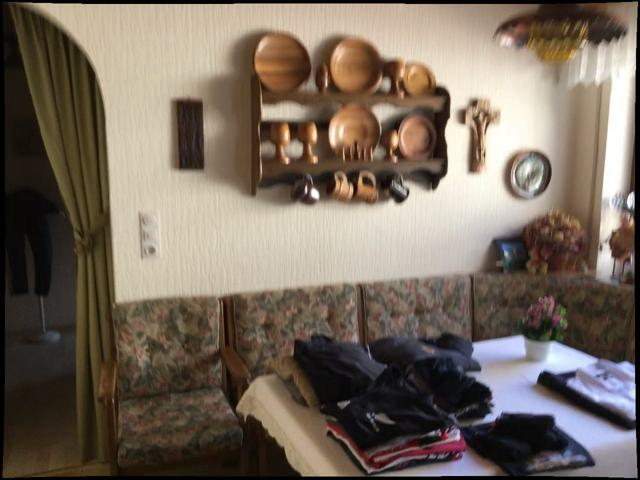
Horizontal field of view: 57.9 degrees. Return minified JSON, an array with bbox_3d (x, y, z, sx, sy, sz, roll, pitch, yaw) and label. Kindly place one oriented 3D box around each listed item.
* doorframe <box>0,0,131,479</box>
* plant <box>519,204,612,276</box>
[{"bbox_3d":[-1.399,0.050,2.450,1.029,2.112,0.390,-3,12,-21],"label":"doorframe"},{"bbox_3d":[1.389,-0.010,3.290,0.360,0.340,0.290,-3,12,-21],"label":"plant"}]
